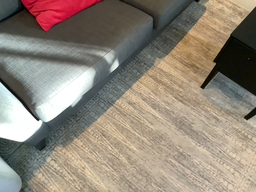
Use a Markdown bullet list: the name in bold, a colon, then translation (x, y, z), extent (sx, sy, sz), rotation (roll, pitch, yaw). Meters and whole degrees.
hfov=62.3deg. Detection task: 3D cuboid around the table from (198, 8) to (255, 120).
- **table**: translation (0.800, -0.220, 1.320), extent (0.380, 0.480, 0.460), rotation (38, 65, 15)
